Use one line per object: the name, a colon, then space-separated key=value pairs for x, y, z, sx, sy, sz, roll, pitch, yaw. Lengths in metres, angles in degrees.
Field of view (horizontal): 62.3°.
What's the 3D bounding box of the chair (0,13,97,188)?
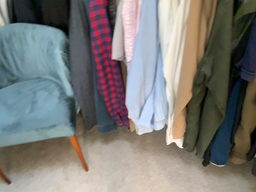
chair: x=-0.510 y=0.030 z=1.110 sx=0.550 sy=0.660 sz=0.530 roll=-10 pitch=43 yaw=-5
